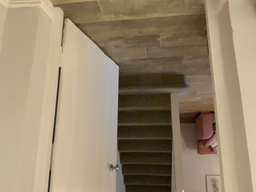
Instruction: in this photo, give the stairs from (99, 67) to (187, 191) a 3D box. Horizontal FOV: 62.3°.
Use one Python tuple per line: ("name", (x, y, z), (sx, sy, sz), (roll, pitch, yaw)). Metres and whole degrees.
("stairs", (0.360, 1.200, 3.630), (0.940, 2.440, 2.780), (-2, 165, 9))
